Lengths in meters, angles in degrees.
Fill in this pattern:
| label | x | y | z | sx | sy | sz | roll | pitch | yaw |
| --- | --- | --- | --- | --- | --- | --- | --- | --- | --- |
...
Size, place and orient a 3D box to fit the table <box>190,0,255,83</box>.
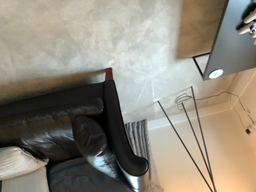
| label | x | y | z | sx | sy | sz | roll | pitch | yaw |
| --- | --- | --- | --- | --- | --- | --- | --- | --- | --- |
| table | 0.830 | -0.540 | 1.350 | 0.640 | 0.240 | 1.060 | -14 | 151 | -1 |
